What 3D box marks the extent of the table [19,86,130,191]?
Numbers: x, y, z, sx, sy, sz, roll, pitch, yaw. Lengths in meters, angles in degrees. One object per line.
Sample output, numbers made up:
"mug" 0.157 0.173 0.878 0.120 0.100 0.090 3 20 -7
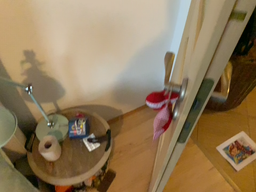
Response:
"table" -0.310 0.310 1.320 0.470 0.420 0.450 -23 55 -19
